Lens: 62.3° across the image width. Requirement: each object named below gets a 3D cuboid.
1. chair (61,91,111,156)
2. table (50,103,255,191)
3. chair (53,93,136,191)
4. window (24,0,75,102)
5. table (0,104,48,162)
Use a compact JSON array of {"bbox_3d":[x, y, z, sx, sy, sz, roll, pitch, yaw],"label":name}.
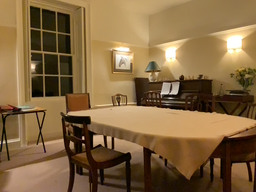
[{"bbox_3d":[-0.690,0.390,3.470,0.590,0.910,0.580,-3,4,-39],"label":"chair"},{"bbox_3d":[0.160,0.540,2.400,1.250,0.710,2.300,-4,4,-39],"label":"table"},{"bbox_3d":[-0.310,0.460,1.980,0.550,0.940,0.530,-4,4,-39],"label":"chair"},{"bbox_3d":[-1.590,-0.860,4.360,0.900,1.900,0.250,-3,4,-40],"label":"window"},{"bbox_3d":[-1.650,0.520,3.280,0.600,0.710,0.580,-3,4,-40],"label":"table"}]
